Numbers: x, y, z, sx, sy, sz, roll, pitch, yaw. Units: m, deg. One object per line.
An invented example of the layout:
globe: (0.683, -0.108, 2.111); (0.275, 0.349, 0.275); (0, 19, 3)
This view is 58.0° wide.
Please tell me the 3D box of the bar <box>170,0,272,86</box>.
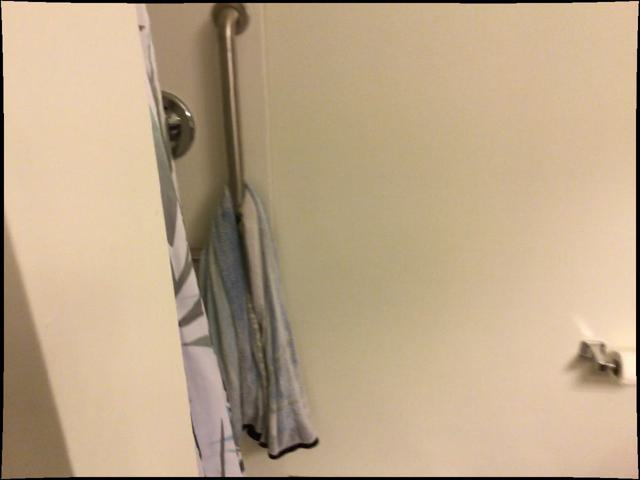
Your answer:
bar: (-0.209, -0.451, 1.240); (0.190, 0.220, 0.080); (2, 26, 7)
